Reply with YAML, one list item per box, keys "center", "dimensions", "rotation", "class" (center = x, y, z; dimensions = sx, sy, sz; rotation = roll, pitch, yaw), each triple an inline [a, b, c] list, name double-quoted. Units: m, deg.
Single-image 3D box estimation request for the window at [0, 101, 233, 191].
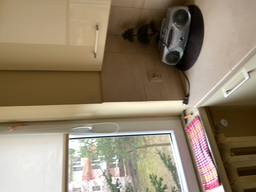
- center: [-0.200, 0.470, 1.120]
  dimensions: [0.110, 1.570, 0.900]
  rotation: [111, 154, -58]
  class: "window"
